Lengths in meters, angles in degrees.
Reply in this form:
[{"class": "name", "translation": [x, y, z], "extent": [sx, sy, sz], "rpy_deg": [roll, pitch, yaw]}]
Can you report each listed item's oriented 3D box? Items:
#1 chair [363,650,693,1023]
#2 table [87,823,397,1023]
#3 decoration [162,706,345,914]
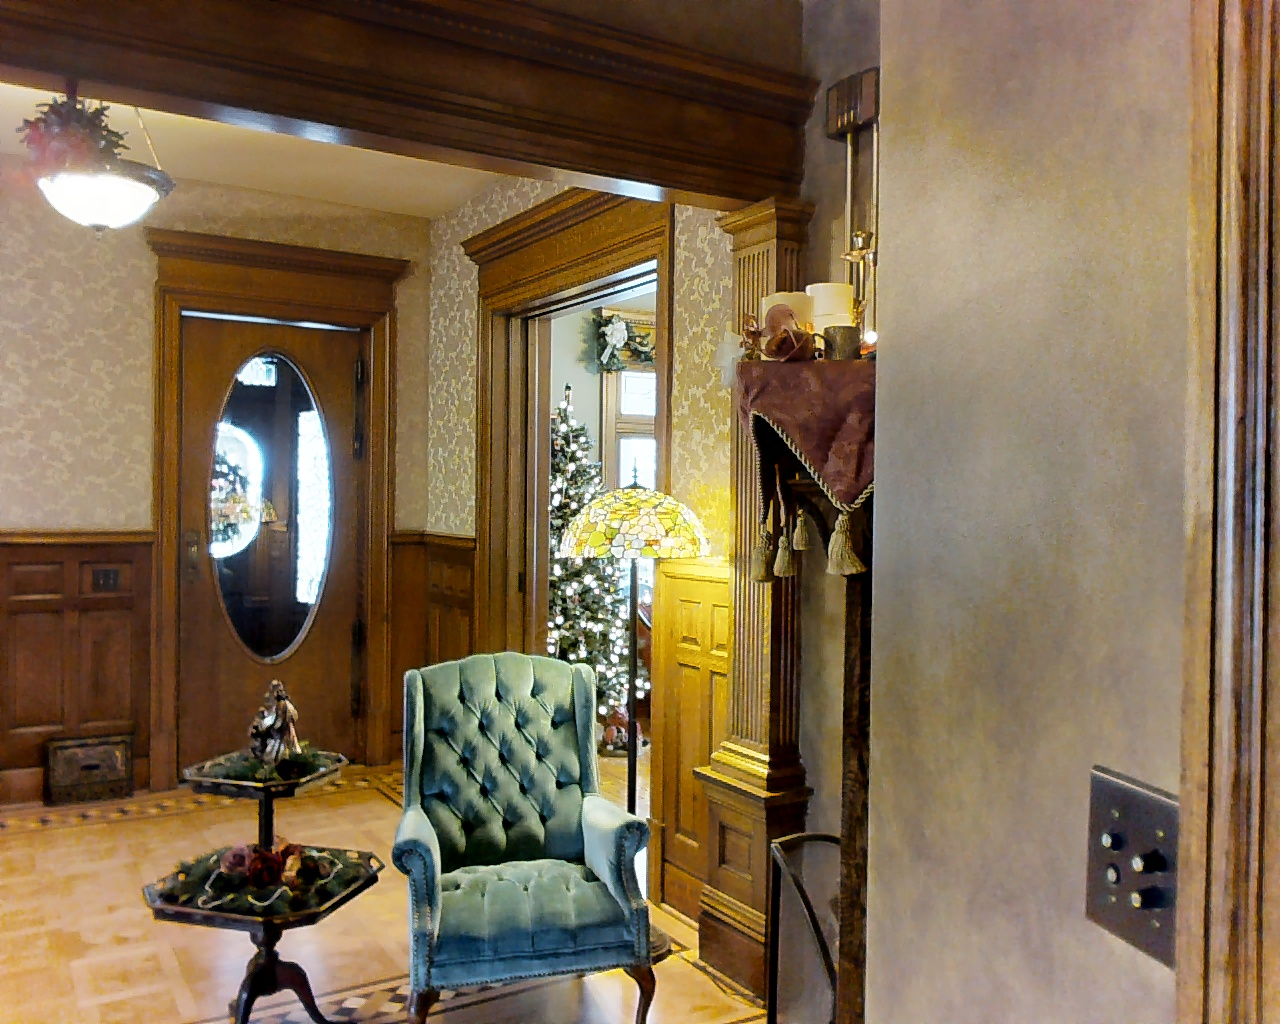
[{"class": "chair", "translation": [-0.380, 0.990, 3.180], "extent": [0.770, 1.020, 0.940], "rpy_deg": [0, 0, -19]}, {"class": "table", "translation": [-1.050, 1.190, 2.920], "extent": [0.560, 0.490, 0.570], "rpy_deg": [1, 0, 15]}, {"class": "decoration", "translation": [-1.040, 0.790, 2.930], "extent": [0.330, 0.450, 0.340], "rpy_deg": [1, 0, 15]}]
